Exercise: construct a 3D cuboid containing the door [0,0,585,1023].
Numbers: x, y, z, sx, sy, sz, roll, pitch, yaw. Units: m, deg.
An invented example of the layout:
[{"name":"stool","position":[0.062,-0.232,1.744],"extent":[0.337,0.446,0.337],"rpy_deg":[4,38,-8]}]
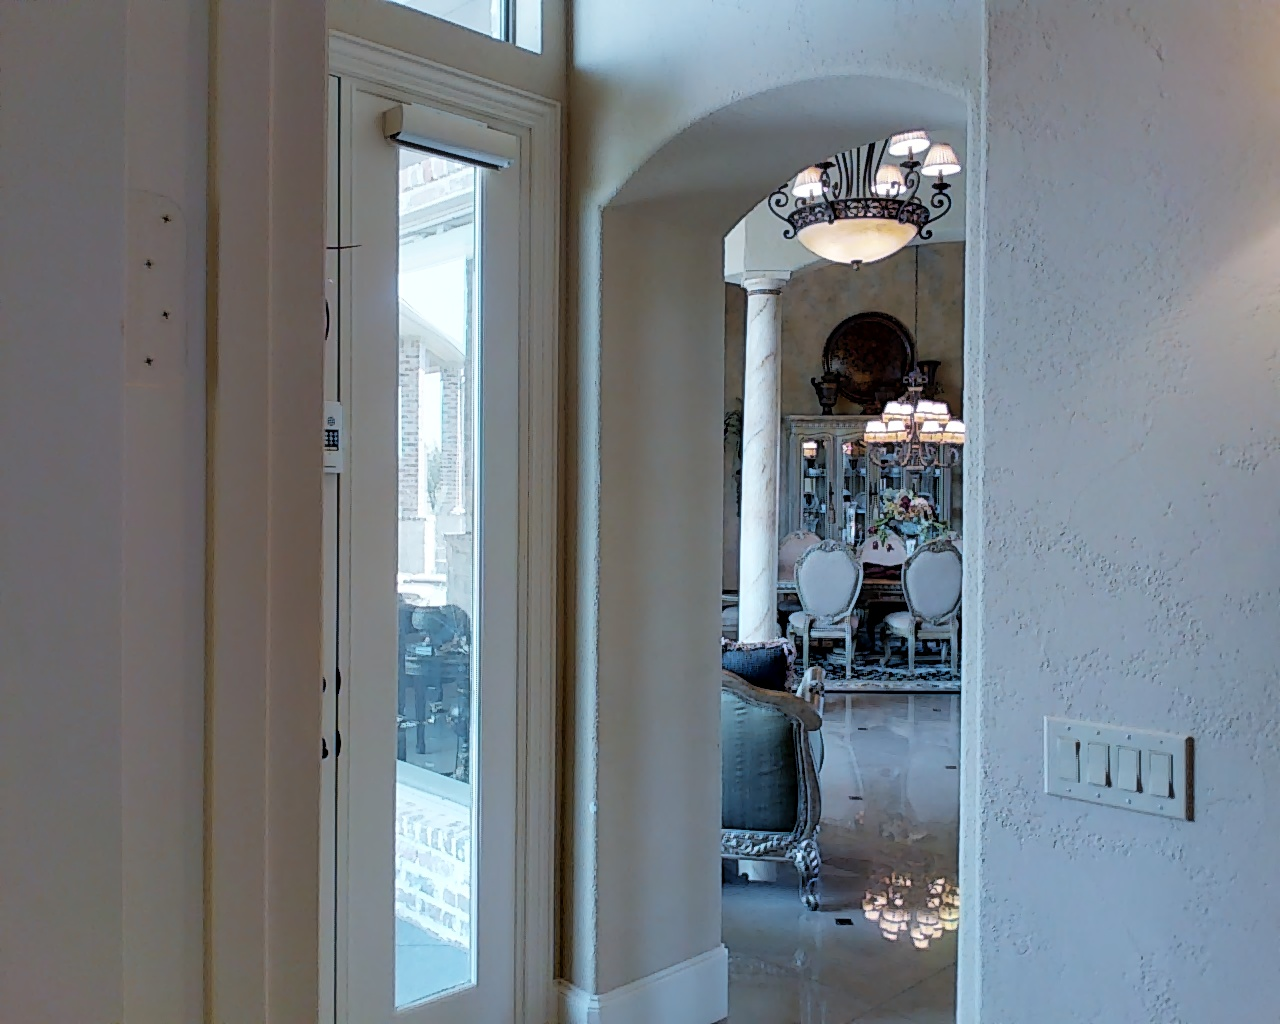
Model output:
[{"name":"door","position":[-0.800,0.160,2.460],"extent":[1.480,2.711,0.330],"rpy_deg":[0,0,-43]}]
